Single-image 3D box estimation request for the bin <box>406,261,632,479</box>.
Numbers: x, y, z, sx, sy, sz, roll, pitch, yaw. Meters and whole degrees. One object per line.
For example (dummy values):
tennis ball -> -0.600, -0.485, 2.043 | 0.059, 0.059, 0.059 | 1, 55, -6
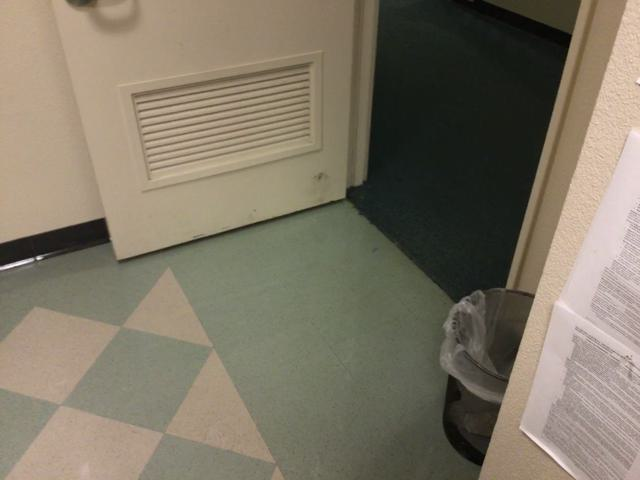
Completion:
bin -> 0.460, 0.330, 1.420 | 0.350, 0.350, 0.310 | -20, 42, -23
